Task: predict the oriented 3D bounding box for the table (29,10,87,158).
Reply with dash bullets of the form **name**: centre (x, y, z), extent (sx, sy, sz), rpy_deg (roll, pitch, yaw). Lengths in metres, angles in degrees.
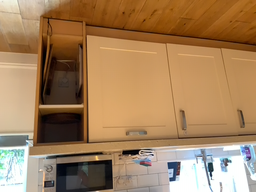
- **table**: centre (-0.500, -0.030, 1.550), extent (0.300, 0.900, 0.600), rpy_deg (1, 164, -18)
